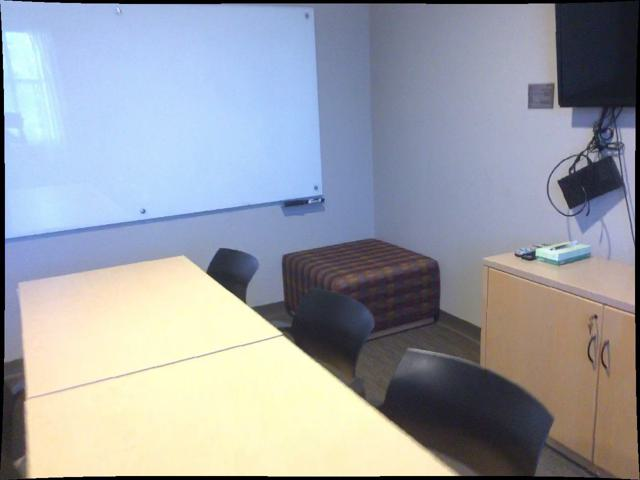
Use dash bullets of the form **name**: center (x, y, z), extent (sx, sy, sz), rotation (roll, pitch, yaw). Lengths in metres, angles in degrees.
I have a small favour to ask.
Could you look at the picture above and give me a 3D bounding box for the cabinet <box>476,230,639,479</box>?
- **cabinet**: center (1.288, 0.521, 2.110), extent (0.569, 0.791, 1.370), rotation (-11, 17, -28)
